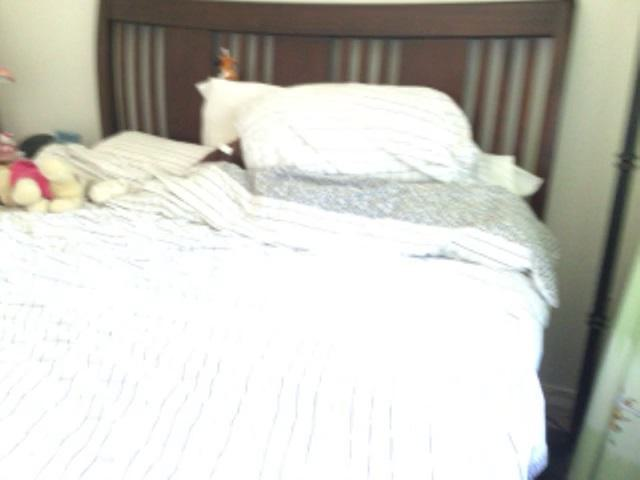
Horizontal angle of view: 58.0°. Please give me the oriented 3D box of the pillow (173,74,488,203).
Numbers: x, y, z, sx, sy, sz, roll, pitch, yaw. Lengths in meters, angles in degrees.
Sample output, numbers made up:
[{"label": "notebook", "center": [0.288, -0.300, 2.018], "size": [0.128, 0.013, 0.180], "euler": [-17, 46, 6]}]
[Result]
[{"label": "pillow", "center": [0.040, -0.320, 1.660], "size": [0.790, 0.220, 0.400], "euler": [8, 25, 20]}]
